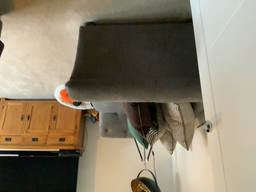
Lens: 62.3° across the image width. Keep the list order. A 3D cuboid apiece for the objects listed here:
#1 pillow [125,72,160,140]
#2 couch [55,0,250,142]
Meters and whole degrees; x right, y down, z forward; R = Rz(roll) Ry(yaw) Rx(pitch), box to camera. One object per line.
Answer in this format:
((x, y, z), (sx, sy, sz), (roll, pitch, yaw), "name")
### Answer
((0.100, 0.100, 1.740), (0.200, 0.450, 0.400), (3, 159, -6), "pillow")
((0.150, -0.040, 2.130), (1.120, 0.730, 1.670), (0, 159, 1), "couch")
